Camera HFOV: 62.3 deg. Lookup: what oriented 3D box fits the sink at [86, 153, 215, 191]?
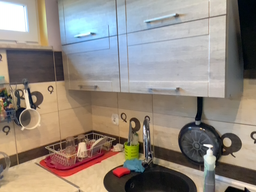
[{"bbox_3d":[0.140,0.610,1.350,0.630,0.180,0.520,5,10,41],"label":"sink"}]
